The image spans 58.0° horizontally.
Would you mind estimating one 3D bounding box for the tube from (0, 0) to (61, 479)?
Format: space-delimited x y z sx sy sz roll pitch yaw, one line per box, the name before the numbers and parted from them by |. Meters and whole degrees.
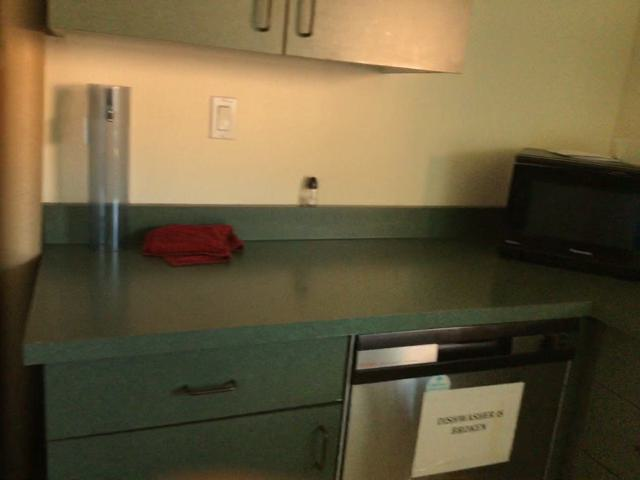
tube | -0.690 -0.100 1.310 0.160 1.930 0.260 2 16 -22
